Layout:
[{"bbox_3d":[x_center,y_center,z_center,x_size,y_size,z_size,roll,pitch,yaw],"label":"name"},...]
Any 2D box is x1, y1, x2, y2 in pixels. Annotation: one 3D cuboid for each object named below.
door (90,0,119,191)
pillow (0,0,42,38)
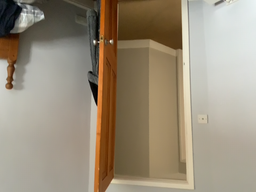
[{"bbox_3d":[-0.180,-0.260,1.970,0.050,2.030,0.820,0,171,5],"label":"door"},{"bbox_3d":[-1.030,-0.640,1.570,0.650,0.140,0.350,8,169,-37],"label":"pillow"}]
